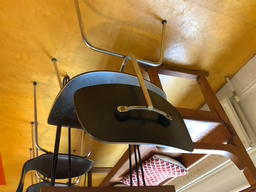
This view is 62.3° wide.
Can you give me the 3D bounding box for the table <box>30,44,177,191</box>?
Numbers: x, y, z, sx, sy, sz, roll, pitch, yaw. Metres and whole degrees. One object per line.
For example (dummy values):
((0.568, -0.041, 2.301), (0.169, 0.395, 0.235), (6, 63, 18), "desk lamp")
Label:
((-0.390, 0.550, 1.610), (0.570, 0.760, 1.640), (8, 139, -20), "table")
